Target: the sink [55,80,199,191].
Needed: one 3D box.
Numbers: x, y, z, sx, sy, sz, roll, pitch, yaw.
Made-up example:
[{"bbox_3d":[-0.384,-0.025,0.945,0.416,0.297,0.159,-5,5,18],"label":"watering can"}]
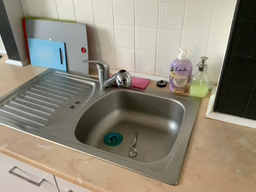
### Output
[{"bbox_3d":[0.020,0.130,0.820,0.410,0.160,0.370,13,36,20],"label":"sink"}]
